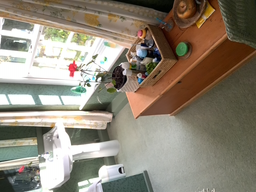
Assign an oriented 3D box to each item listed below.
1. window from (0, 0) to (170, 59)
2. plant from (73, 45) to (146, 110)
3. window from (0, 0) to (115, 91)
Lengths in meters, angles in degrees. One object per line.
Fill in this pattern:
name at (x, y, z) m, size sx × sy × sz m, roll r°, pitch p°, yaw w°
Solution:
window at (-0.390, -0.540, 1.350) m, size 0.350 × 1.400 × 0.320 m, roll -34°, pitch 62°, yaw 50°
plant at (-0.160, -0.130, 1.690) m, size 0.350 × 0.400 × 0.330 m, roll -51°, pitch 49°, yaw 42°
window at (-0.920, -0.470, 2.010) m, size 0.940 × 1.250 × 0.370 m, roll -47°, pitch 52°, yaw 45°
